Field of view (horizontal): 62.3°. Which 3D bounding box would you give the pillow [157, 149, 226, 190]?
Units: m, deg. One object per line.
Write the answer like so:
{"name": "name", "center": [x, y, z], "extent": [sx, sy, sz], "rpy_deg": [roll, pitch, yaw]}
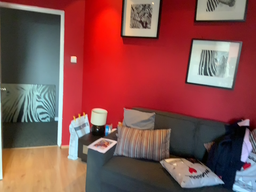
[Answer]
{"name": "pillow", "center": [0.570, 0.670, 2.000], "extent": [0.420, 0.120, 0.480], "rpy_deg": [2, 11, -16]}

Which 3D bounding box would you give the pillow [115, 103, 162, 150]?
{"name": "pillow", "center": [0.130, 0.360, 2.570], "extent": [0.500, 0.400, 0.230], "rpy_deg": [12, 34, 25]}

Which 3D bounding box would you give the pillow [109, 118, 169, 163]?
{"name": "pillow", "center": [0.130, 0.480, 2.320], "extent": [0.600, 0.330, 0.220], "rpy_deg": [6, 29, 15]}

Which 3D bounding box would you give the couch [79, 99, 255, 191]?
{"name": "couch", "center": [0.640, 0.700, 2.210], "extent": [2.050, 0.910, 0.960], "rpy_deg": [10, 11, 24]}
